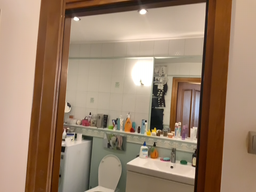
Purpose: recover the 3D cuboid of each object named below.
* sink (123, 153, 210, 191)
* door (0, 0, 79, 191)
[{"bbox_3d":[0.420,0.790,2.230,0.810,0.140,0.490,4,-1,23],"label":"sink"},{"bbox_3d":[-0.360,0.550,0.790,0.170,2.040,0.890,5,-1,-17],"label":"door"}]
